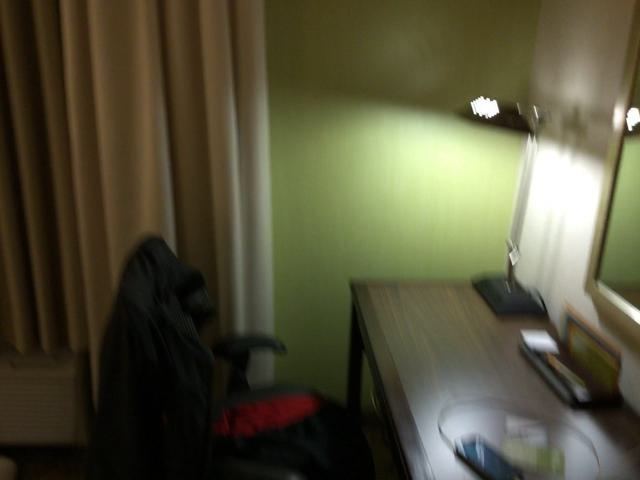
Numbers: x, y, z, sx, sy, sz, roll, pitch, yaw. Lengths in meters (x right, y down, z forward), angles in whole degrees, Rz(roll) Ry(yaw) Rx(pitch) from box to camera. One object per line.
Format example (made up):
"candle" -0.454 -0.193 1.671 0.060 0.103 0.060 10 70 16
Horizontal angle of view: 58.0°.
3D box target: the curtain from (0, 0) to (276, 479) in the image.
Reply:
"curtain" -1.250 -0.250 1.780 2.180 2.270 0.360 -2 18 -7

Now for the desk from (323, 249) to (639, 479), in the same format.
"desk" 0.430 0.650 1.670 0.650 0.820 1.420 -2 18 -7

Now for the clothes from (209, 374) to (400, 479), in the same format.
"clothes" -0.060 0.640 1.600 0.450 0.340 0.410 -2 18 -7
